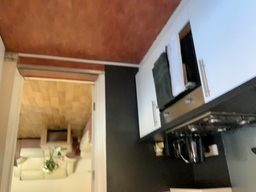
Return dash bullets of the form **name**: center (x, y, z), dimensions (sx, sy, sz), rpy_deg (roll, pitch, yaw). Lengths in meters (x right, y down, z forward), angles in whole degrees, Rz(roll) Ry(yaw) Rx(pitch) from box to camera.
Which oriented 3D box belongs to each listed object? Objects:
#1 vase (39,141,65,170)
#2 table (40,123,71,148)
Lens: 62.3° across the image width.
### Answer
- **vase**: center (-1.580, 1.250, 4.450), dimensions (0.460, 0.530, 0.340), rpy_deg (2, 159, -14)
- **table**: center (-1.570, 0.870, 4.670), dimensions (0.570, 0.480, 0.400), rpy_deg (1, 159, -10)
